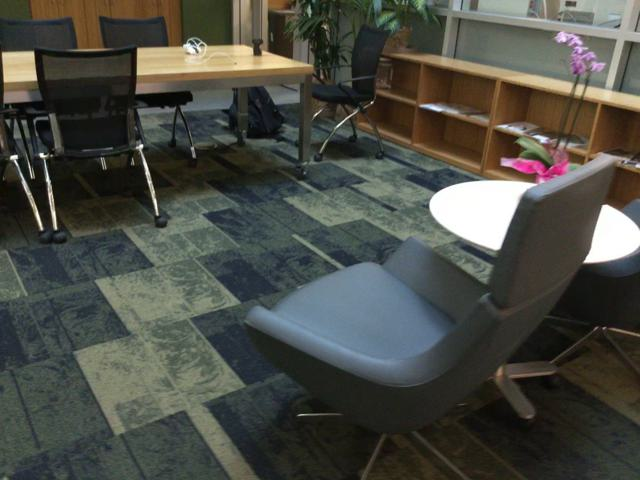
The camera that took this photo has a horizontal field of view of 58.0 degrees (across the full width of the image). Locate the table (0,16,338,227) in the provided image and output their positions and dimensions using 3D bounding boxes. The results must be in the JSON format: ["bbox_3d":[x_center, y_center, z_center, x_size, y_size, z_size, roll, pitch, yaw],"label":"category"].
[{"bbox_3d":[-1.300,-0.790,3.470,2.500,0.840,1.190,-10,31,-33],"label":"table"}]
